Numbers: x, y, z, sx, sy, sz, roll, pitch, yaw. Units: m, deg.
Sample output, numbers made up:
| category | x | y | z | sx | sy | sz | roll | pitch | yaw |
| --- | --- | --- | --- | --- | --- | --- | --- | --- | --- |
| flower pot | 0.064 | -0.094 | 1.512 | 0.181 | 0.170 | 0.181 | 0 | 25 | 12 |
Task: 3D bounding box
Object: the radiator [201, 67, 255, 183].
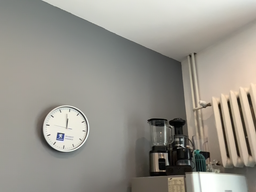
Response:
| category | x | y | z | sx | sy | sz | roll | pitch | yaw |
| --- | --- | --- | --- | --- | --- | --- | --- | --- | --- |
| radiator | 0.890 | 0.210 | 1.520 | 0.180 | 0.760 | 0.600 | 15 | -26 | -36 |
